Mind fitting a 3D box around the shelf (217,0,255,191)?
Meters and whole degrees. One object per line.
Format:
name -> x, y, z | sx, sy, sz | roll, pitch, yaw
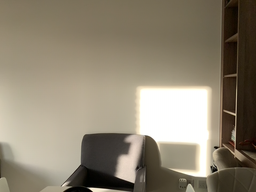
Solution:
shelf -> 1.070, 0.160, 1.830 | 0.430, 2.550, 0.410 | 1, 4, 10
